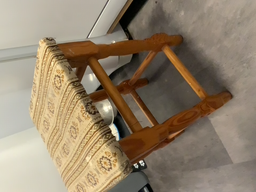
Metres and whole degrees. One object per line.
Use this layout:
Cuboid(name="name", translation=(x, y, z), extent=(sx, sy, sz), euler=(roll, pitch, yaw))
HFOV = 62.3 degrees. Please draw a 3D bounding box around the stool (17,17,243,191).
Cuboid(name="stool", translation=(0.000, 0.020, 0.600), extent=(0.330, 0.460, 0.300), euler=(56, 139, 17))
